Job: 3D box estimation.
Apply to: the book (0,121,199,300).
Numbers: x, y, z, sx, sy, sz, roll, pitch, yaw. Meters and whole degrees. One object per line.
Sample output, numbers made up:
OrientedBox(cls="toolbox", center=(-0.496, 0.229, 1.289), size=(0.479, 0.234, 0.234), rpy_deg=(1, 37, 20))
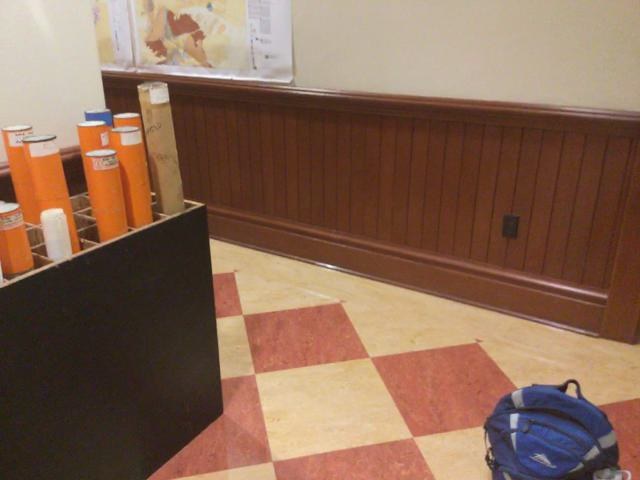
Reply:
OrientedBox(cls="book", center=(-0.870, -0.050, 1.430), size=(0.470, 0.240, 1.120), rpy_deg=(11, 26, 29))

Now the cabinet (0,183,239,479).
OrientedBox(cls="cabinet", center=(-0.710, 0.430, 1.520), size=(0.190, 0.830, 1.240), rpy_deg=(11, 26, 29))

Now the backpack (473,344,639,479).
OrientedBox(cls="backpack", center=(0.660, 0.590, 1.630), size=(0.400, 0.420, 0.320), rpy_deg=(7, 24, 20))
